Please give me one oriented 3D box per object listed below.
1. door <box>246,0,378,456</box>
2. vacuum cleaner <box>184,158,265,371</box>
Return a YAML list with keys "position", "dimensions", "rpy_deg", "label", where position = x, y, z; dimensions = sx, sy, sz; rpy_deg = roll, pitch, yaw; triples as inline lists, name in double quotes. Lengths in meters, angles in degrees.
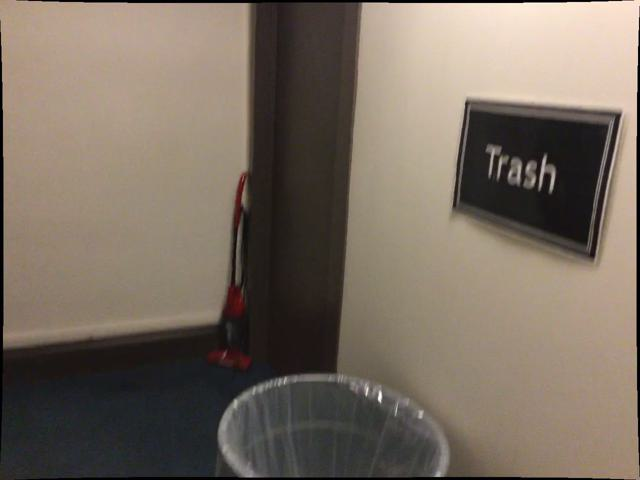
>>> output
- position: [-0.100, -0.240, 2.440]
  dimensions: [0.130, 2.012, 0.960]
  rpy_deg: [-5, 19, -23]
  label: "door"
- position: [-0.480, 0.120, 2.910]
  dimensions: [0.290, 1.011, 0.260]
  rpy_deg: [10, 18, 23]
  label: "vacuum cleaner"
